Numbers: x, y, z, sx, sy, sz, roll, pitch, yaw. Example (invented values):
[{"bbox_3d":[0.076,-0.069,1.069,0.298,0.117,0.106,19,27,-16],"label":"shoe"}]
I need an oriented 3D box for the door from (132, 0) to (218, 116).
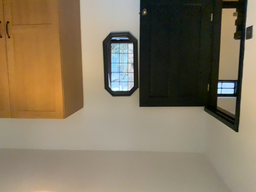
[{"bbox_3d":[0.490,-0.830,2.280,0.890,2.110,0.080,0,-172,1],"label":"door"}]
